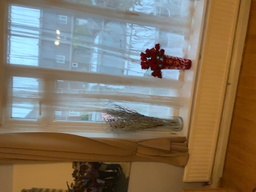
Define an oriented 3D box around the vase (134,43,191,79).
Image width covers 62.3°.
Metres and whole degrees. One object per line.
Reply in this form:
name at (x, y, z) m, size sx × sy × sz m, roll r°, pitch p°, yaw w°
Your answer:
vase at (0.330, -0.330, 2.070) m, size 0.170 × 0.500 × 0.280 m, roll -163°, pitch 77°, yaw -76°
